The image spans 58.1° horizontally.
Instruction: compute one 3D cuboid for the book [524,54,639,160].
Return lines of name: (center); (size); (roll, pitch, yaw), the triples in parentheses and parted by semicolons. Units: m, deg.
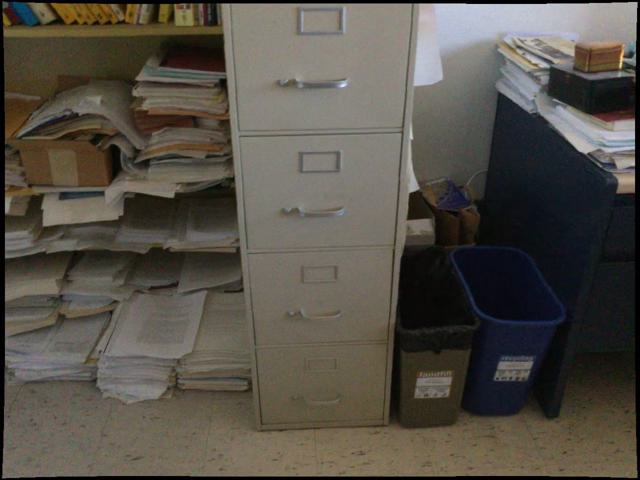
book: (0.828, -0.361, 1.500); (0.439, 0.160, 0.360); (-3, 30, -4)
